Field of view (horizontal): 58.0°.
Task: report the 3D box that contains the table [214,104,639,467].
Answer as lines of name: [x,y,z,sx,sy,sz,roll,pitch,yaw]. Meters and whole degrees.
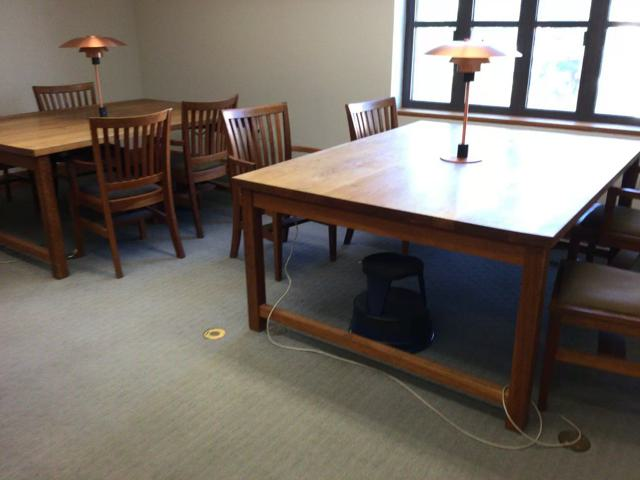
table: [0.640,-0.050,2.870,1.430,1.050,1.760,15,18,34]
